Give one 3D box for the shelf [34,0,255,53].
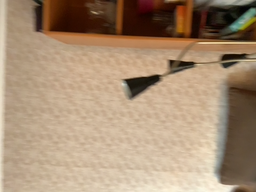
[{"bbox_3d":[0.090,-0.510,1.150,0.390,1.030,0.480,-95,7,-81],"label":"shelf"}]
